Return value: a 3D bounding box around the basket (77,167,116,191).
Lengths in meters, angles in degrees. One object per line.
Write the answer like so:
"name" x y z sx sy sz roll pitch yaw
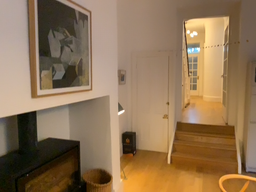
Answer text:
"basket" -0.350 1.080 2.410 0.340 0.400 0.280 2 6 22
